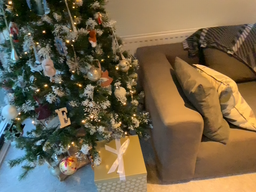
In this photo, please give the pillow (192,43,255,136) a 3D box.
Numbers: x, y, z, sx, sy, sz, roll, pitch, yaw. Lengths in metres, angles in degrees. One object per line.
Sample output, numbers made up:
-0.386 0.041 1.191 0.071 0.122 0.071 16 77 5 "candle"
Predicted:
0.660 -0.050 1.460 0.120 0.440 0.480 26 40 -14 "pillow"
